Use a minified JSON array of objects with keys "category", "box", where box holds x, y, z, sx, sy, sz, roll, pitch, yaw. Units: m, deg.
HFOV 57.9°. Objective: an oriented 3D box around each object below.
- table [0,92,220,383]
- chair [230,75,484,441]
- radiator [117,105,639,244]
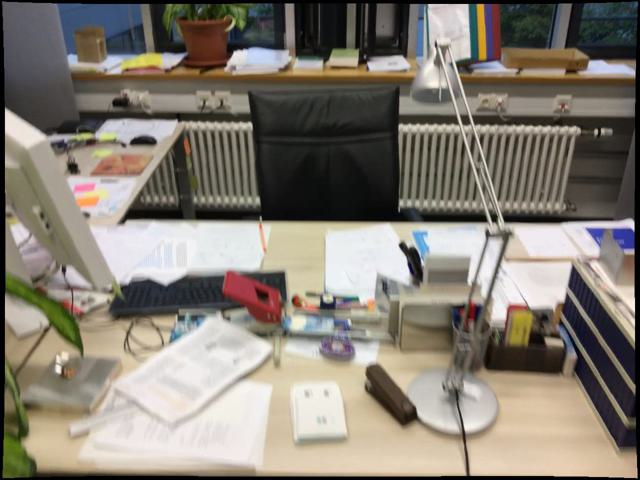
[{"category":"table","box":[-0.939,-0.100,2.540,0.669,0.771,1.210,1,29,4]},{"category":"chair","box":[0.060,0.030,2.040,0.659,1.011,0.730,-4,29,-6]},{"category":"radiator","box":[0.300,-0.370,3.170,2.647,0.620,0.350,1,29,4]}]
